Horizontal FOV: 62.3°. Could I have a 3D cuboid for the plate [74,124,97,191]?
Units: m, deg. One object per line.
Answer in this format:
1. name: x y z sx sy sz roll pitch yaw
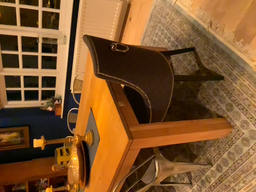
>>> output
1. plate: -0.430 0.610 2.060 0.420 0.080 0.540 -114 33 -41
